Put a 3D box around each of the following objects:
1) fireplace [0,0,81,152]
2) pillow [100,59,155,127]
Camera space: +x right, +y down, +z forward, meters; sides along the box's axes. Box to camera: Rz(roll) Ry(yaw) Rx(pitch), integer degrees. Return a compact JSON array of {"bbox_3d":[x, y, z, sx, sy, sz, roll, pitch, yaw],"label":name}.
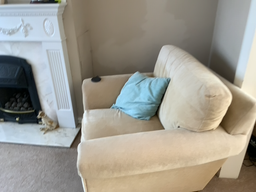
[{"bbox_3d":[-1.270,-0.210,1.970,1.410,1.230,0.550,4,28,8],"label":"fireplace"},{"bbox_3d":[0.010,-0.010,1.710,0.170,0.380,0.430,-37,68,-7],"label":"pillow"}]
